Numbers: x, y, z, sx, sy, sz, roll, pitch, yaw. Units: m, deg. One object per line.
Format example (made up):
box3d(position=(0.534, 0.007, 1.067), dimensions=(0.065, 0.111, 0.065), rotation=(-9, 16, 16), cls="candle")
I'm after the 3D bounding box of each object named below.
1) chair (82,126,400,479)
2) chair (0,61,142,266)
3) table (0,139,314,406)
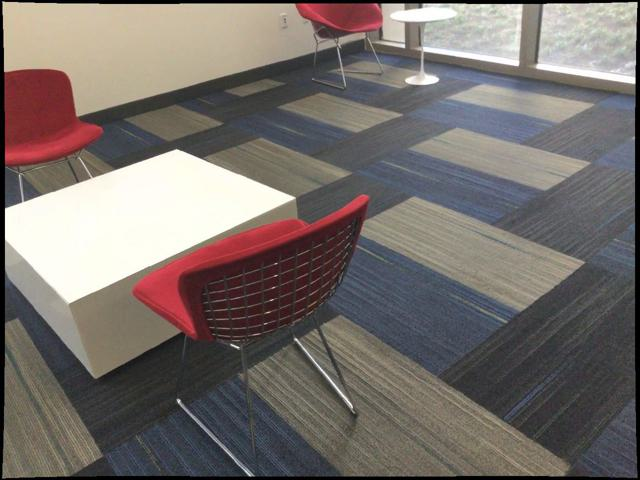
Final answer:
box3d(position=(-0.190, 0.180, 1.630), dimensions=(0.549, 0.741, 0.600), rotation=(-27, 38, -29), cls="chair")
box3d(position=(-1.347, -0.401, 2.810), dimensions=(0.579, 0.701, 0.590), rotation=(-27, 38, -29), cls="chair")
box3d(position=(-0.748, 0.020, 2.430), dimensions=(0.989, 0.361, 1.019), rotation=(-29, 39, -32), cls="table")
